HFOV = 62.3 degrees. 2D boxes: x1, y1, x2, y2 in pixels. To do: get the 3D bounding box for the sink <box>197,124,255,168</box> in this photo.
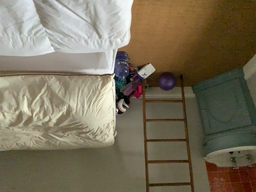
[{"bbox_3d":[0.990,0.490,2.030,0.440,0.310,0.450,1,154,-6],"label":"sink"}]
